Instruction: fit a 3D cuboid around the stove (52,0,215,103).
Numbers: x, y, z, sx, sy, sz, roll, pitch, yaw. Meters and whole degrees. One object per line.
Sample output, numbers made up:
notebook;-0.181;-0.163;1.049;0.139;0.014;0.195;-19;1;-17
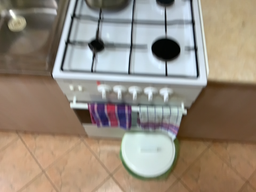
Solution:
stove;0.030;-0.300;0.880;0.510;0.180;0.610;3;64;0
